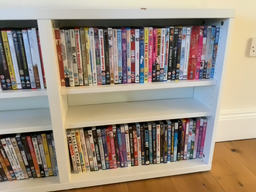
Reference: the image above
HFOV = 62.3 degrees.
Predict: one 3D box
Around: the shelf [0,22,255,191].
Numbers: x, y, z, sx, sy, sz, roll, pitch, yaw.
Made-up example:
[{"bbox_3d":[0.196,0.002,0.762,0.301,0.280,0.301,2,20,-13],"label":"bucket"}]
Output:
[{"bbox_3d":[-0.210,0.050,0.820,1.300,0.620,0.270,-3,22,-9],"label":"shelf"}]
